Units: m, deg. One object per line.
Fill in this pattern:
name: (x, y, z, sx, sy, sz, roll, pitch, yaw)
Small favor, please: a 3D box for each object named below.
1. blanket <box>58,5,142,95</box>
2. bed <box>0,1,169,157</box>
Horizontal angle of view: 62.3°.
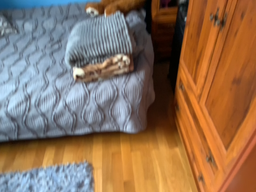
blanket: (-0.190, -0.350, 1.480, 0.460, 0.300, 0.600, -8, 44, -5)
bed: (-0.940, -0.240, 1.850, 2.260, 0.520, 1.410, -4, 44, -2)
